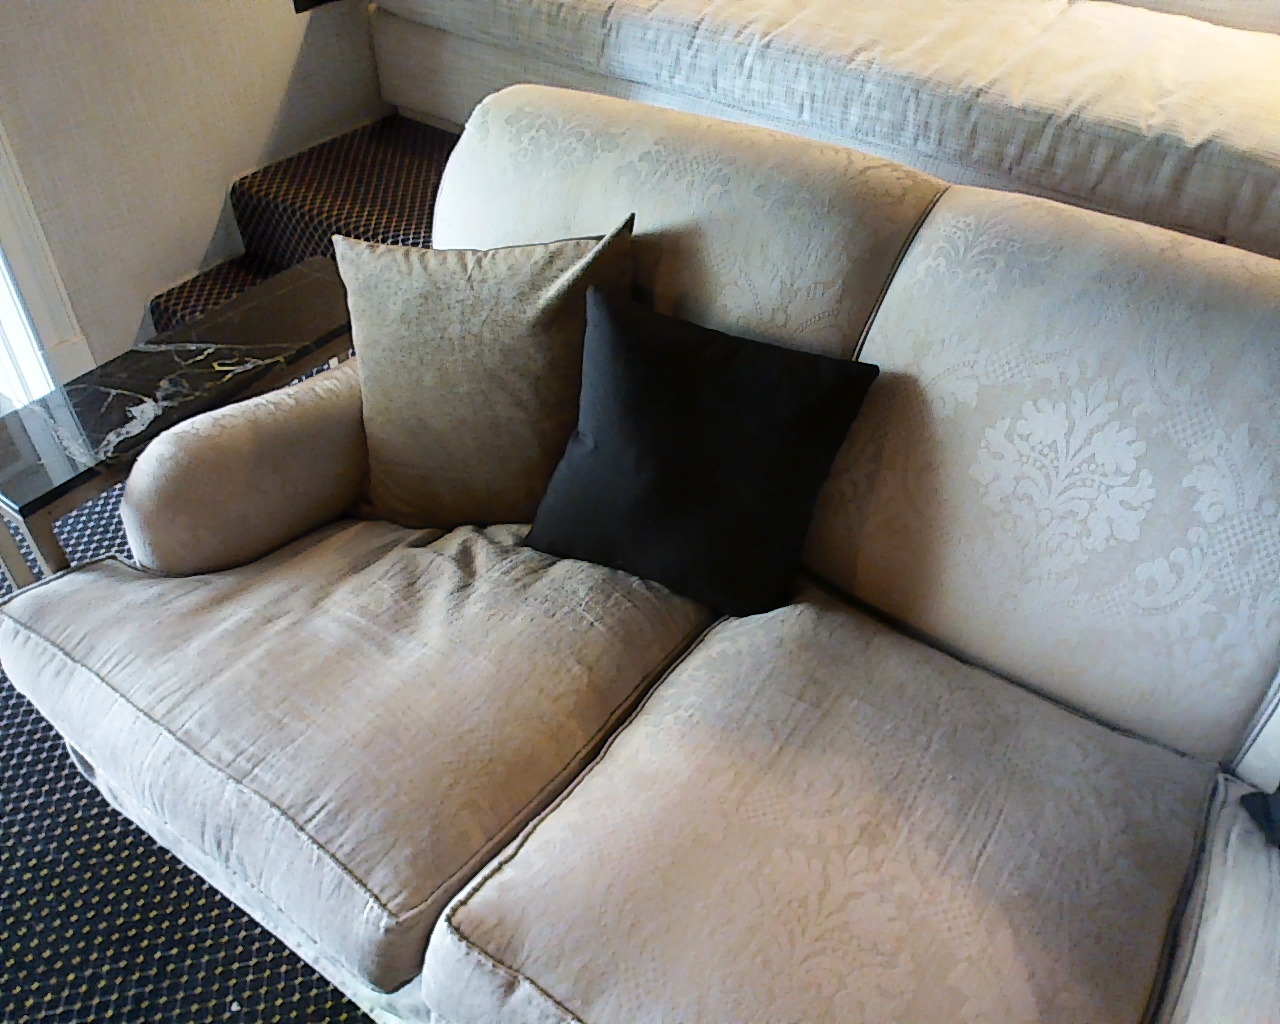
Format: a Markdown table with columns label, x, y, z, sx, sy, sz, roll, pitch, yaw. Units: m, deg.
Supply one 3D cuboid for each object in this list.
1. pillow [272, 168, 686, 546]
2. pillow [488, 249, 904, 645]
| label | x | y | z | sx | sy | sz | roll | pitch | yaw |
| --- | --- | --- | --- | --- | --- | --- | --- | --- | --- |
| pillow | -0.260 | -0.260 | 1.780 | 0.550 | 0.460 | 0.250 | 15 | 13 | 7 |
| pillow | 0.080 | -0.100 | 1.580 | 0.470 | 0.390 | 0.150 | 27 | 13 | 8 |
